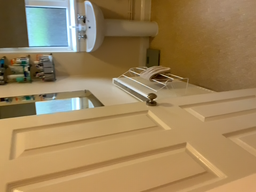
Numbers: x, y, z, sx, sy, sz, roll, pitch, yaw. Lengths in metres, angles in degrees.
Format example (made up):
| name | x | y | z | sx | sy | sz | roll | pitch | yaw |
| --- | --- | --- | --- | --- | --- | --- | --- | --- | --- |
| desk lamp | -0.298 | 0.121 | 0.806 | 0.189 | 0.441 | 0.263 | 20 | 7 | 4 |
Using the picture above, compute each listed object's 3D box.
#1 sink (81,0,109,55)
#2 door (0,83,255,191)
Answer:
| name | x | y | z | sx | sy | sz | roll | pitch | yaw |
| --- | --- | --- | --- | --- | --- | --- | --- | --- | --- |
| sink | -0.370 | -0.760 | 2.340 | 0.420 | 0.180 | 0.560 | -145 | 53 | -60 |
| door | 0.150 | 0.150 | 0.860 | 0.750 | 1.930 | 0.050 | -141 | 50 | -58 |
